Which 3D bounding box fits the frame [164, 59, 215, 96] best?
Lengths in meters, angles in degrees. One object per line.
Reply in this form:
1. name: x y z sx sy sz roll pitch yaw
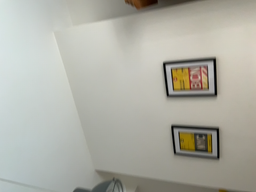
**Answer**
1. frame: 0.540 -0.150 1.860 0.060 0.410 0.300 -43 -53 -58
